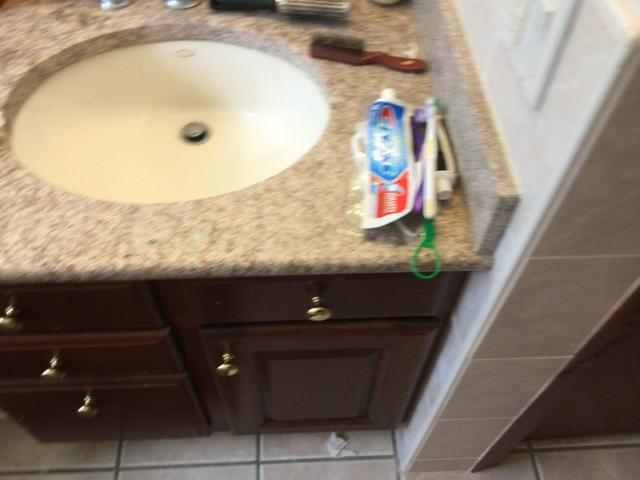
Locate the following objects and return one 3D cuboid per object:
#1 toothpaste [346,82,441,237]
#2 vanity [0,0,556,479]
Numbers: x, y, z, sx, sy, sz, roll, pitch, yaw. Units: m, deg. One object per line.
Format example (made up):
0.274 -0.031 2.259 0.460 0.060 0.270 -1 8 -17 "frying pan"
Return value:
0.080 -0.100 0.680 0.080 0.050 0.200 -2 54 -3 "toothpaste"
-0.230 0.010 1.030 0.830 0.890 0.590 -2 54 -3 "vanity"
